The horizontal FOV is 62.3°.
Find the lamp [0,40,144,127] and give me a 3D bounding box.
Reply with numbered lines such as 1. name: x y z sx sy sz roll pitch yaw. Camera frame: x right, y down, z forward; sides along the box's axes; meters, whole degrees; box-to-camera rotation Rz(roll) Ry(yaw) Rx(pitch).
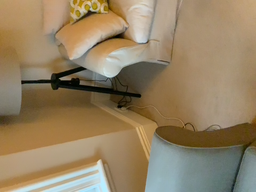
1. lamp: -0.620 -0.160 1.930 0.550 1.500 0.550 25 113 47
